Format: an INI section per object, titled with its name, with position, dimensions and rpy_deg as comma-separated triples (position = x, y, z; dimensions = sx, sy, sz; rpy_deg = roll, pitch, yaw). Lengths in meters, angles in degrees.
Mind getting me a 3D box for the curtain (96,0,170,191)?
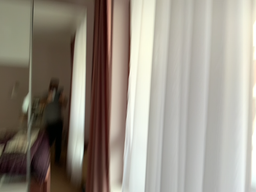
[curtain]
position = 0.030, 0.050, 2.100
dimensions = 0.590, 2.750, 0.380
rpy_deg = 1, 1, -18
